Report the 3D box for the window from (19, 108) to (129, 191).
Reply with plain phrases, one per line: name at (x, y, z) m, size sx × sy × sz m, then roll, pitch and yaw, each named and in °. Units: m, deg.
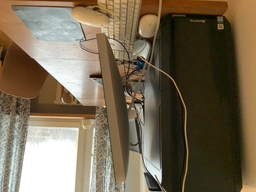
window at (-0.710, 1.070, 2.870) m, size 1.390 × 1.760 × 0.160 m, roll 2°, pitch 169°, yaw -1°
